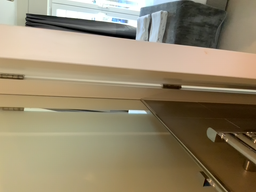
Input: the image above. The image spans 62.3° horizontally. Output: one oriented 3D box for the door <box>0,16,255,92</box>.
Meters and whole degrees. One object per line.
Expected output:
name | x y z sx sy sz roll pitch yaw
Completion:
door | 0.270 -0.070 0.840 0.840 2.000 0.040 -178 90 -75
